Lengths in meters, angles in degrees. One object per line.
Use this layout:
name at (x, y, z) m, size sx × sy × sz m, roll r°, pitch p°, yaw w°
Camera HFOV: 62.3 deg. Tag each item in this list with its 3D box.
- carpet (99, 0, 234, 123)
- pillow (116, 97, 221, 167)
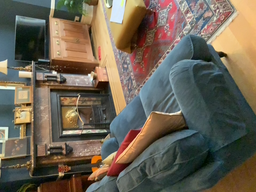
carpet at (0.100, -1.280, 2.940) m, size 1.860 × 0.010 × 2.750 m, roll -52°, pitch 44°, yaw 47°
pillow at (0.220, 0.220, 1.270) m, size 0.450 × 0.400 × 0.190 m, roll -51°, pitch 52°, yaw 48°
